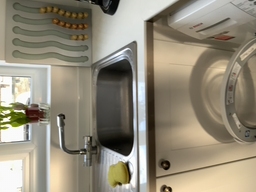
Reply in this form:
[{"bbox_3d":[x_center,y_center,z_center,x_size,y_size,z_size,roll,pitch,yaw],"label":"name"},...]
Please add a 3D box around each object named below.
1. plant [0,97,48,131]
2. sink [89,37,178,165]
[{"bbox_3d":[-0.600,0.090,1.210,0.220,0.240,0.170,-1,88,61],"label":"plant"},{"bbox_3d":[-0.010,0.020,1.040,0.520,0.200,0.460,-1,88,61],"label":"sink"}]
